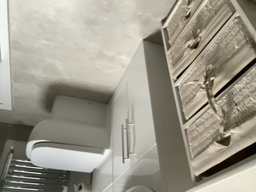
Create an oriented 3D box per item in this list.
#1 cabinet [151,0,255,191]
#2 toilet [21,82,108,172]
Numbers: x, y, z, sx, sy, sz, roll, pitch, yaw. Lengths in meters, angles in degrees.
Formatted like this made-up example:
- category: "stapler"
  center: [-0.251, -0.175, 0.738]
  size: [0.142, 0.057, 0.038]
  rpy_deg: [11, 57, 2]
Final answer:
- category: "cabinet"
  center: [0.350, -0.120, 0.790]
  size: [0.280, 0.840, 0.410]
  rpy_deg: [13, 140, -20]
- category: "toilet"
  center: [-0.440, 0.240, 1.530]
  size: [0.490, 0.450, 0.370]
  rpy_deg: [13, 140, -20]
